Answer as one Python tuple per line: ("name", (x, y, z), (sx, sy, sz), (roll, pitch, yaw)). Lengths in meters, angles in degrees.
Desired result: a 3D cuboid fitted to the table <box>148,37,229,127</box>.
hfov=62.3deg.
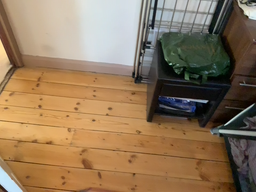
("table", (0.420, -0.100, 1.670), (0.440, 0.500, 0.440), (6, 50, 0))
